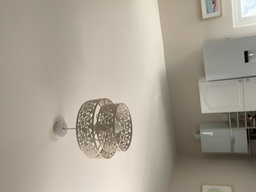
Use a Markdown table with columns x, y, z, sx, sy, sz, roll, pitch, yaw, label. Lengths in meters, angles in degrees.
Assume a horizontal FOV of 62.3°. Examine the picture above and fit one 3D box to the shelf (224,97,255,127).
| x | y | z | sx | sy | sz | roll | pitch | yaw | label |
| --- | --- | --- | --- | --- | --- | --- | --- | --- | --- |
| 1.960 | 0.260 | 3.530 | 0.370 | 0.630 | 0.370 | -38 | -59 | -65 | shelf |
